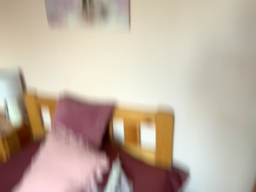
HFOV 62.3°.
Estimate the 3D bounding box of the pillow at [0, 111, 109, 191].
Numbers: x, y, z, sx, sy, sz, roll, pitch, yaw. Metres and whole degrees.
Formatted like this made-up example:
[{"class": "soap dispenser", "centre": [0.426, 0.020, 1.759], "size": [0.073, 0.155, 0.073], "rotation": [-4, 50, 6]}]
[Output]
[{"class": "pillow", "centre": [-0.440, 0.410, 1.410], "size": [0.450, 0.150, 0.530], "rotation": [41, 30, -2]}]
